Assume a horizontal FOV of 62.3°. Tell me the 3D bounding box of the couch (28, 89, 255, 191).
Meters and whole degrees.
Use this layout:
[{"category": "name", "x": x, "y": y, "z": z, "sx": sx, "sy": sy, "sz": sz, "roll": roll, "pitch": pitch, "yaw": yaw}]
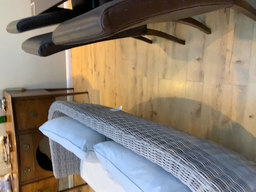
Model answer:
[{"category": "couch", "x": 0.010, "y": 0.540, "z": 1.410, "sx": 1.870, "sy": 0.770, "sz": 0.930, "roll": 12, "pitch": 104, "yaw": 51}]
